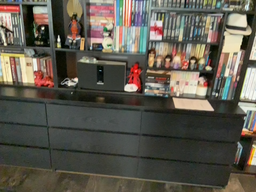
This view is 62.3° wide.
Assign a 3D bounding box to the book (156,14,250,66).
[{"bbox_3d":[0.590,-0.490,1.810,0.650,0.360,0.300,5,21,4],"label":"book"}]

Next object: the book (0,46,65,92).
[{"bbox_3d":[-1.080,-0.280,2.070,0.850,0.340,0.250,6,21,6],"label":"book"}]

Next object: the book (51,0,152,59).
[{"bbox_3d":[-0.210,-0.740,1.800,0.810,0.760,0.240,5,21,4],"label":"book"}]
